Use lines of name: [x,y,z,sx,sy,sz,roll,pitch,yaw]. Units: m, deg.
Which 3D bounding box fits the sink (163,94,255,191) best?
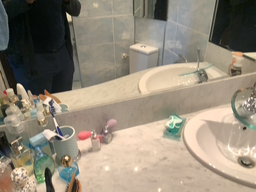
sink: [0.490,0.230,0.840,0.520,0.190,0.470,-11,33,-17]
